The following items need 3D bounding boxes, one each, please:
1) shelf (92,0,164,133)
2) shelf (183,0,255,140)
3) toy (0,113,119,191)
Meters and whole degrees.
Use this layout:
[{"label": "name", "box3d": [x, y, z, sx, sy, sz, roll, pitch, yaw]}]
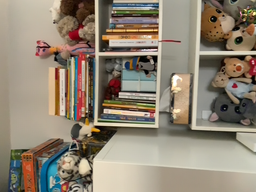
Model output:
[{"label": "shelf", "box3d": [0.010, -0.350, 1.020, 0.210, 0.310, 1.010, -37, -51, -80]}, {"label": "shelf", "box3d": [0.440, -0.340, 0.960, 0.210, 0.300, 1.030, -37, -51, -80]}, {"label": "toy", "box3d": [-0.420, 0.470, 1.000, 0.500, 0.670, 0.680, -35, -54, -81]}]
